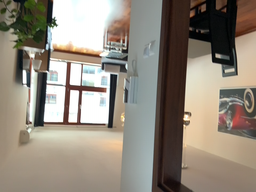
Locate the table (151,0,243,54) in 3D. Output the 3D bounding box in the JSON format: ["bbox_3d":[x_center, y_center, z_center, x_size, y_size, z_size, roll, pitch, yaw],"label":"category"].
[{"bbox_3d":[0.980,-1.100,3.140,0.990,0.690,0.790,4,179,-22],"label":"table"}]
